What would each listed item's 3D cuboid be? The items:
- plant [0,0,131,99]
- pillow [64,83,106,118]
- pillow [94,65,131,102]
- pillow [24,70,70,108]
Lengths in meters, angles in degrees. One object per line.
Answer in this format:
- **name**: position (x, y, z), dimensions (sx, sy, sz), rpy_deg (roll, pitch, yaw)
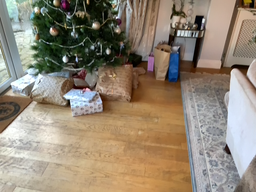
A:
- **plant**: position (-0.670, -1.290, 2.550), dimensions (1.330, 2.240, 1.310), rpy_deg (3, 33, 3)
- **pillow**: position (-0.490, 0.040, 2.400), dimensions (0.390, 0.180, 0.350), rpy_deg (-10, 34, -17)
- **pillow**: position (-0.180, -0.160, 2.610), dimensions (0.410, 0.320, 0.360), rpy_deg (0, 33, -1)
- **pillow**: position (-0.920, -0.080, 2.460), dimensions (0.370, 0.330, 0.230), rpy_deg (9, 50, 5)
